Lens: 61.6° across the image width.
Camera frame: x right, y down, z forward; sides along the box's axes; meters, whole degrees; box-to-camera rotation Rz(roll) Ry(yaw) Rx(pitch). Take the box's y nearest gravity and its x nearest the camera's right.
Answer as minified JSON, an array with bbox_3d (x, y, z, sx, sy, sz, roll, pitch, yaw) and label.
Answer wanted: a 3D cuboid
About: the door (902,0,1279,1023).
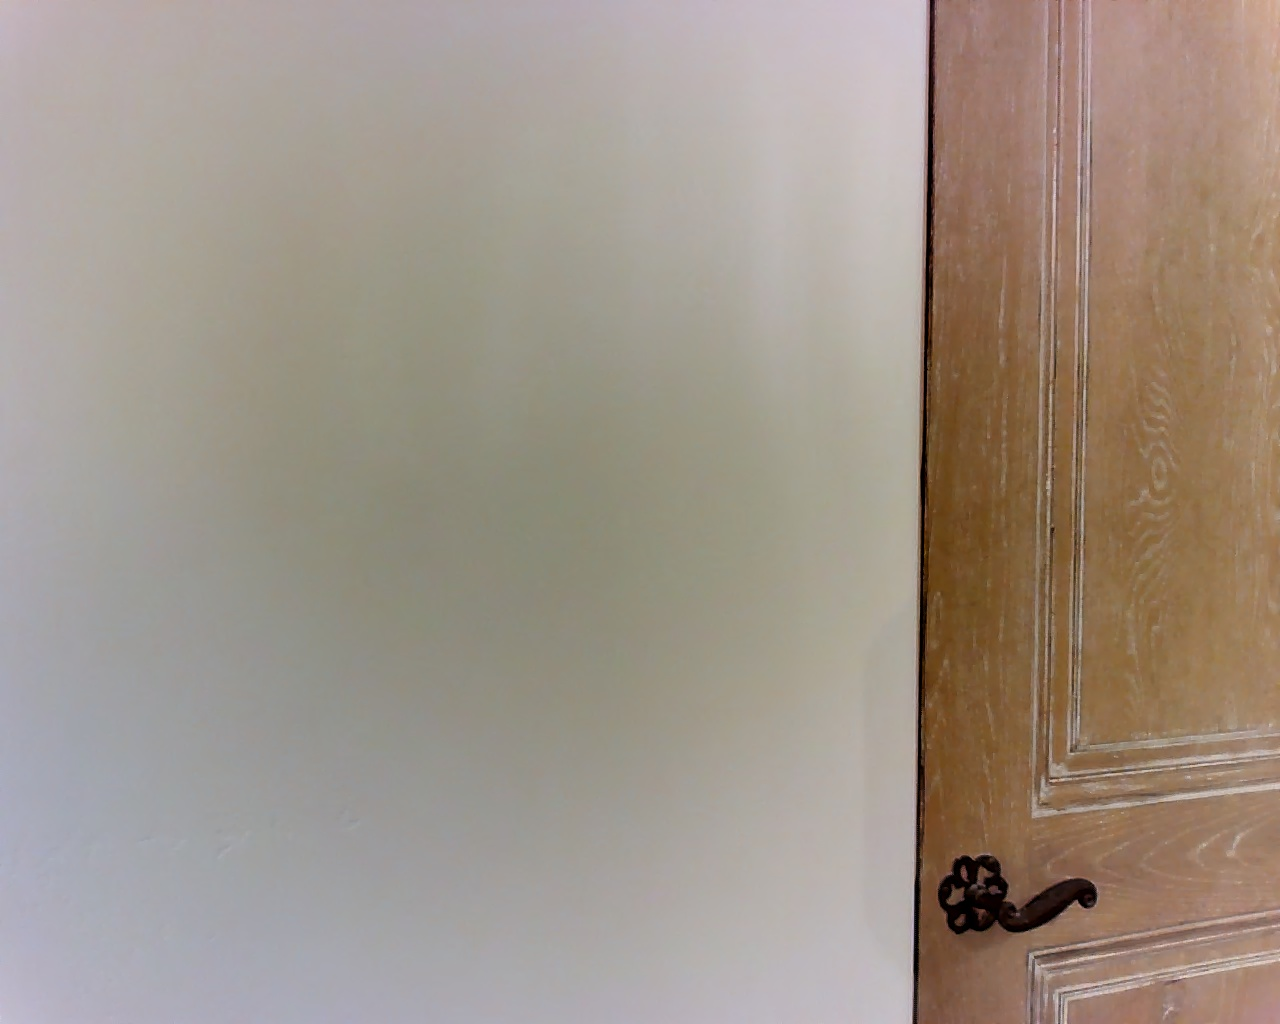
[{"bbox_3d":[0.600,0.060,1.100,0.720,2.401,0.050,0,1,-20],"label":"door"}]
